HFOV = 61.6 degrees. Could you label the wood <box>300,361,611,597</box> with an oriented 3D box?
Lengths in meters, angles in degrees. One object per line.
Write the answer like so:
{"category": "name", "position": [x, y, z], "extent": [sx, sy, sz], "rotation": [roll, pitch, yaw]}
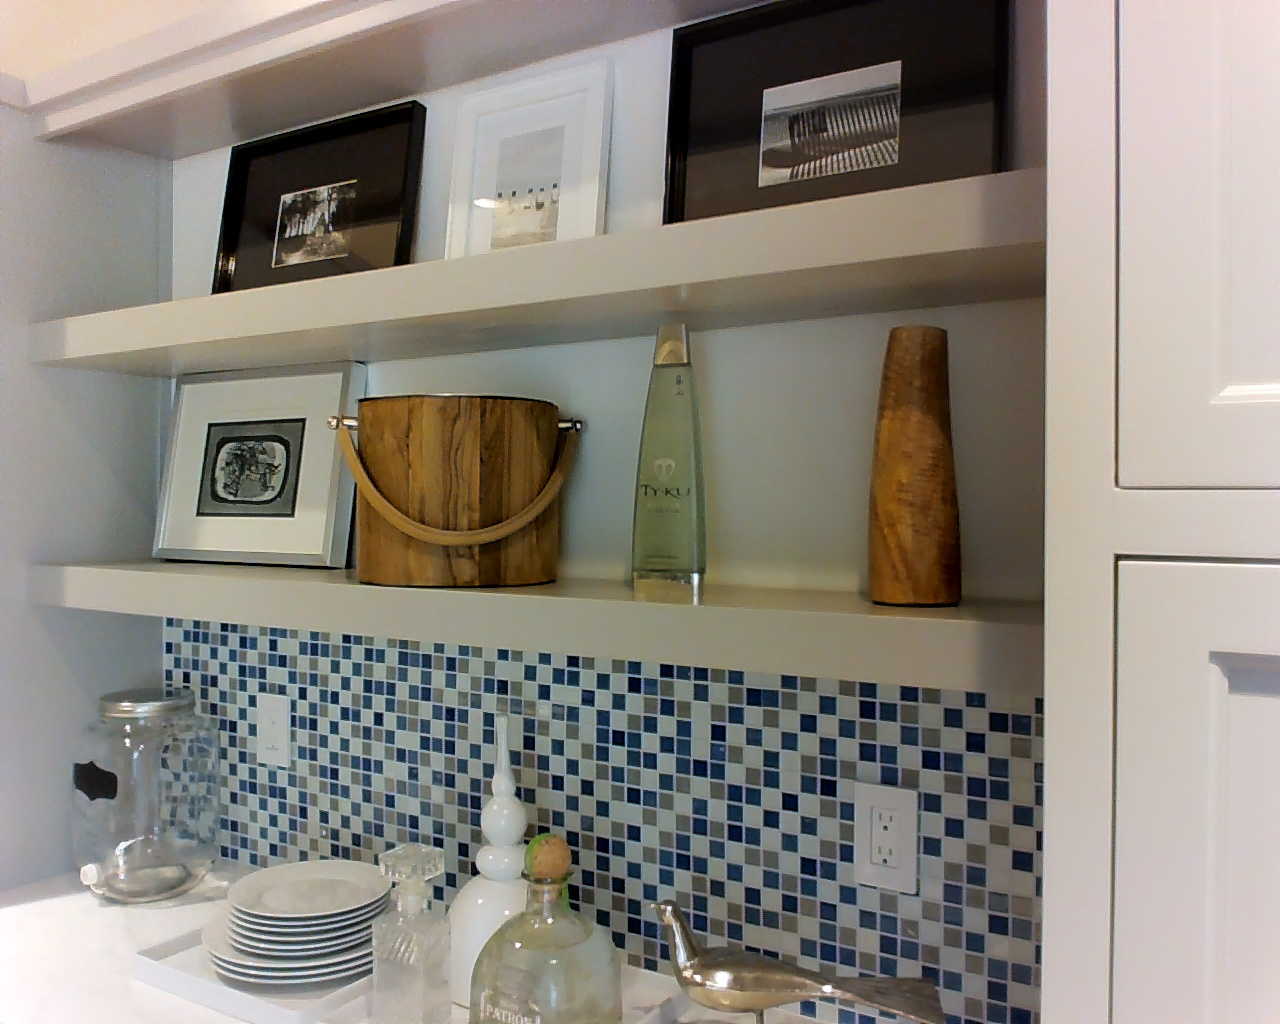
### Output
{"category": "wood", "position": [-0.240, -0.040, 1.420], "extent": [0.310, 0.270, 0.260], "rotation": [1, 0, 32]}
